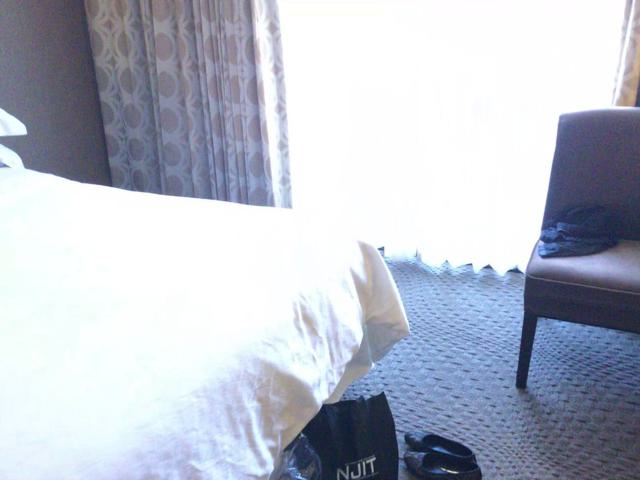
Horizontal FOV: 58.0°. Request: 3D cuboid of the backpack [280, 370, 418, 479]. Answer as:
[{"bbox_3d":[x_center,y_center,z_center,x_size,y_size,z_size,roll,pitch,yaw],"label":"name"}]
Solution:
[{"bbox_3d":[0.090,0.600,1.630,0.290,0.290,0.290,8,24,22],"label":"backpack"}]
